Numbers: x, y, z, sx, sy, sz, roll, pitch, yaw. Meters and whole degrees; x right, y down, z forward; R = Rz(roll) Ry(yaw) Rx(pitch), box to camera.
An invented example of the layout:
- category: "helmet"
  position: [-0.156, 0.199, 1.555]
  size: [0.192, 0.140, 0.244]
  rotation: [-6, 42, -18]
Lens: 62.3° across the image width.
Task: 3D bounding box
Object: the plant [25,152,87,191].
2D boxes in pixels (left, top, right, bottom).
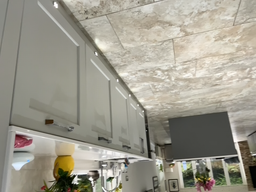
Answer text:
- category: "plant"
  position: [-0.530, 0.700, 1.620]
  size: [0.310, 0.480, 0.360]
  rotation: [-8, 160, 11]
